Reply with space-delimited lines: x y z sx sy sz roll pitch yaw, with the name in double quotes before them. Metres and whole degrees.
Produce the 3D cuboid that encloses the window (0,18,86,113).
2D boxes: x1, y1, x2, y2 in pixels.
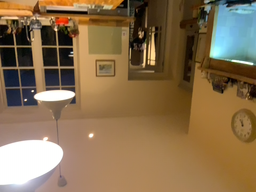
"window" -1.680 -0.560 4.180 1.610 1.790 0.130 -1 -164 -8
